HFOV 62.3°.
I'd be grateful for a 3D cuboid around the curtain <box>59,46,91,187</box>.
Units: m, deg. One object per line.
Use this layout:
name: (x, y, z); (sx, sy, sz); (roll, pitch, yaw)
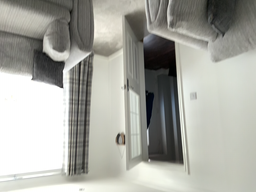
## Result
curtain: (-0.880, 0.300, 3.570); (0.480, 2.230, 0.160); (6, 168, -39)
